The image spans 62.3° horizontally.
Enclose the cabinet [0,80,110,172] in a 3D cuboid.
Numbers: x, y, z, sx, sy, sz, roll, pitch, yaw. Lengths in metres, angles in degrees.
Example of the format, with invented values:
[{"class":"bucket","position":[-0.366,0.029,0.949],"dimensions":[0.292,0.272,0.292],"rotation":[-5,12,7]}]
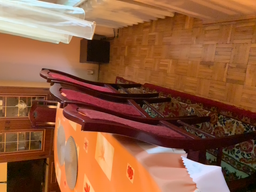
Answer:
[{"class":"cabinet","position":[-1.420,0.340,2.640],"dimensions":[0.500,2.280,0.990],"rotation":[22,107,59]}]
